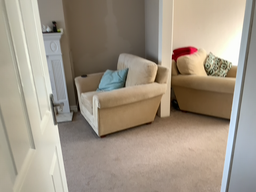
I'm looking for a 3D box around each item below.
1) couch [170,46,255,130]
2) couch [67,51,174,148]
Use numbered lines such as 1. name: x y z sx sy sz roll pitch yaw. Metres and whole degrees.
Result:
1. couch: 1.330 -0.230 3.270 0.980 0.880 1.160 9 23 27
2. couch: -0.160 -0.080 3.000 1.040 0.880 1.190 -11 22 -24
